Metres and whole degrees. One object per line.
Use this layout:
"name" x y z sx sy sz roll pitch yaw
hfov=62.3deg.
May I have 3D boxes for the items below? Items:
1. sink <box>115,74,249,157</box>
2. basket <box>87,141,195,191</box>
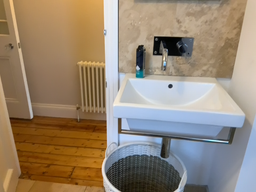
"sink" 0.220 0.060 1.040 0.500 0.190 0.430 4 23 6
"basket" 0.080 0.600 1.250 0.510 0.450 0.430 4 23 6
